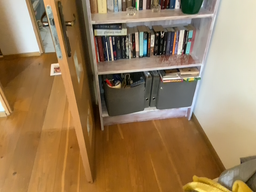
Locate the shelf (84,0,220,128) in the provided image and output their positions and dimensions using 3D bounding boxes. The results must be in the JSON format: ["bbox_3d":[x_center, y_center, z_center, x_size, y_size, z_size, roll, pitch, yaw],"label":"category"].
[{"bbox_3d":[0.140,-0.550,1.530,0.850,1.790,0.330,-5,39,-6],"label":"shelf"}]
